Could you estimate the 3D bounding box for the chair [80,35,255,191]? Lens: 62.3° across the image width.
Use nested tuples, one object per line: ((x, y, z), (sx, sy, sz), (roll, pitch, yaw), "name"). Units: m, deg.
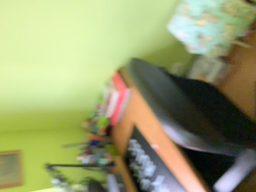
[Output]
((0.400, 0.220, 1.190), (0.690, 1.060, 0.710), (57, 136, 44), "chair")
